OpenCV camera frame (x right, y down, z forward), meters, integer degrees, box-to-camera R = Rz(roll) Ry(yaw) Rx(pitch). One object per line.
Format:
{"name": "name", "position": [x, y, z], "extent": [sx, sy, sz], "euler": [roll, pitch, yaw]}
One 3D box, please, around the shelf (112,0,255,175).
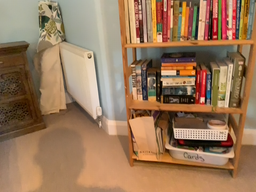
{"name": "shelf", "position": [0.350, -0.340, 1.280], "extent": [0.760, 1.630, 0.400], "euler": [2, 24, 14]}
